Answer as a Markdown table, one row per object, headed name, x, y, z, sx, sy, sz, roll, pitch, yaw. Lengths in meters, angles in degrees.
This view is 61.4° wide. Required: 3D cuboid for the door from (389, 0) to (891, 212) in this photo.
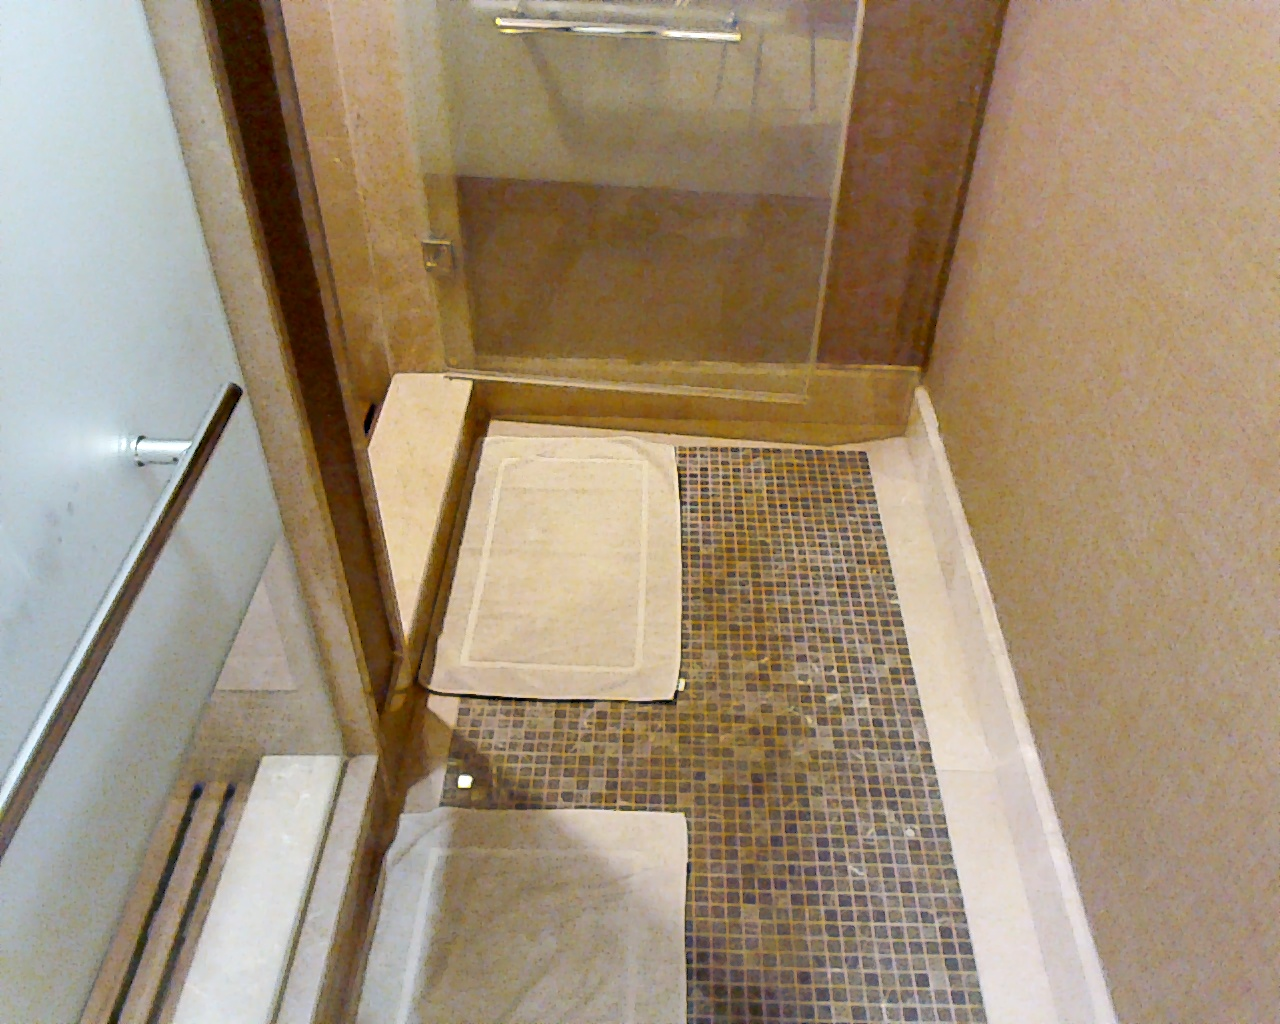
| name | x | y | z | sx | sy | sz | roll | pitch | yaw |
| --- | --- | --- | --- | --- | --- | --- | --- | --- | --- |
| door | 0.000 | -1.100 | 1.900 | 0.910 | 1.130 | 0.150 | 1 | 41 | 1 |
